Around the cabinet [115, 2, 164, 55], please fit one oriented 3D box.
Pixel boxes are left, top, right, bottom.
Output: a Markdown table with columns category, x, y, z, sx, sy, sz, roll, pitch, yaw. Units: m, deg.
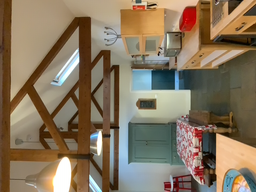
| category | x | y | z | sx | sy | sz | roll | pitch | yaw |
| --- | --- | --- | --- | --- | --- | --- | --- | --- | --- |
| cabinet | 0.200 | -1.070 | 3.630 | 1.340 | 0.680 | 0.440 | 18 | -107 | -86 |
